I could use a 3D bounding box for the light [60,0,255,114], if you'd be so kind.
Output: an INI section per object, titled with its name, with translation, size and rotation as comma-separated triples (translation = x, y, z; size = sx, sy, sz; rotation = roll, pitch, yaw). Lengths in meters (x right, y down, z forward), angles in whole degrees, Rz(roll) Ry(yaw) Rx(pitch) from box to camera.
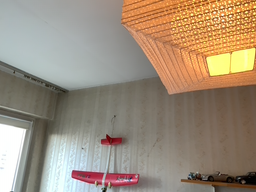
[light]
translation = 0.350, -0.340, 0.830
size = 0.770, 0.690, 0.580
rotation = 16, -99, 31
